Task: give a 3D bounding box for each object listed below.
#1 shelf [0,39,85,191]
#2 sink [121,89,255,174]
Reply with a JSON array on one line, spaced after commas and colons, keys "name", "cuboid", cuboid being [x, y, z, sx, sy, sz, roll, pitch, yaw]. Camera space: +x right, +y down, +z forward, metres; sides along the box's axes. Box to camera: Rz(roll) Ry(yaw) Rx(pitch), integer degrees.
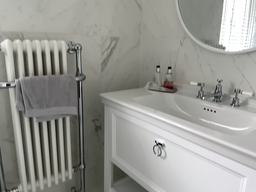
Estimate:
[{"name": "shelf", "cuboid": [-0.480, 0.230, 1.260, 0.370, 1.090, 0.240, -6, 16, -28]}, {"name": "sink", "cuboid": [0.290, 0.110, 1.050, 0.340, 0.140, 0.640, -9, 17, -36]}]
